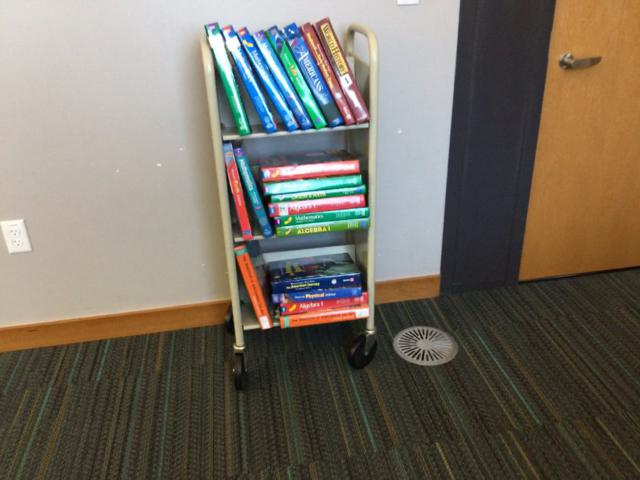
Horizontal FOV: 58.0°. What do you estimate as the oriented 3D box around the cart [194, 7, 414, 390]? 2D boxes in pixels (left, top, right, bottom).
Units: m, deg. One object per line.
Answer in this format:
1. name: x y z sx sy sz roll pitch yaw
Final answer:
1. cart: -0.050 -0.130 1.860 0.540 1.100 0.460 -5 27 -6
